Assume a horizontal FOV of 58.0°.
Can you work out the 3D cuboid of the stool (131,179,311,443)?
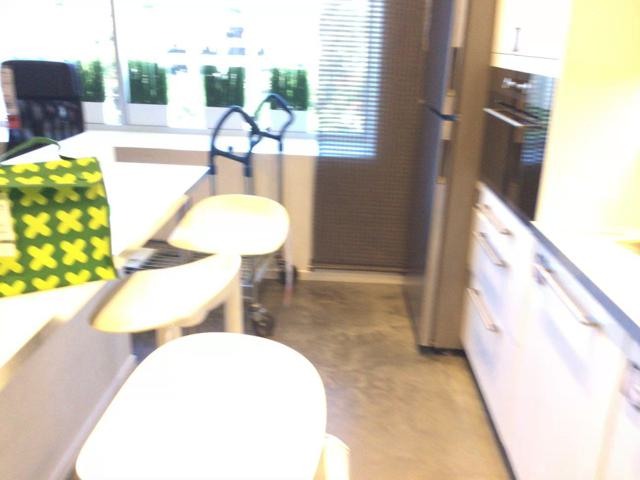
[{"bbox_3d":[-0.310,0.230,2.110,0.530,0.830,0.470,1,16,2],"label":"stool"}]
